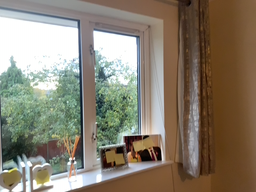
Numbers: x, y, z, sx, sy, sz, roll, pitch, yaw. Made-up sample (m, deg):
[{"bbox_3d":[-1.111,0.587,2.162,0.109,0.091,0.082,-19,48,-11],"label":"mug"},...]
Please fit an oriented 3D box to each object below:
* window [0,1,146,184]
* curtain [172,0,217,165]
[{"bbox_3d":[-0.540,-0.030,1.440,1.690,1.060,0.080,-3,2,-38],"label":"window"},{"bbox_3d":[0.540,-0.160,1.730,0.250,1.340,0.230,-3,2,-38],"label":"curtain"}]
